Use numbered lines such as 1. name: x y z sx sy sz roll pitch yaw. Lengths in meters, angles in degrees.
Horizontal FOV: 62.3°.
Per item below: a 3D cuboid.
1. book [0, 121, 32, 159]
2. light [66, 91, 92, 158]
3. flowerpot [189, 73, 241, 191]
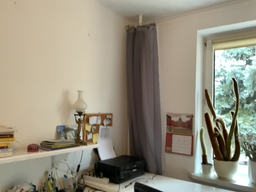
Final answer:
1. book: -0.810 0.270 1.320 0.180 0.210 0.320 -1 -6 40
2. light: -0.440 0.250 1.910 0.090 0.570 0.180 -1 -5 37
3. flowerpot: 0.820 0.310 1.980 0.350 0.980 0.340 -1 -6 39
